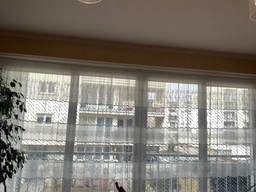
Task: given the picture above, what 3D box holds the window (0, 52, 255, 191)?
[{"bbox_3d":[0.100,0.770,2.620,3.520,2.290,0.230,4,-7,-10],"label":"window"}]
